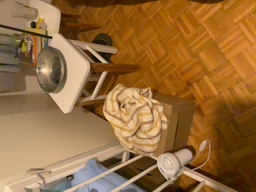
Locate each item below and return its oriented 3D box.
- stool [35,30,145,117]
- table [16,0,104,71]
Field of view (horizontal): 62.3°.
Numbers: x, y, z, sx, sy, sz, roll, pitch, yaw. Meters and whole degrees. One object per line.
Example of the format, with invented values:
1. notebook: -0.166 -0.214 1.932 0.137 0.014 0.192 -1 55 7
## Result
1. stool: -0.210 -0.130 1.220 0.310 0.450 0.310 43 119 28
2. table: -0.470 -0.410 1.450 0.410 0.370 0.380 23 109 35
